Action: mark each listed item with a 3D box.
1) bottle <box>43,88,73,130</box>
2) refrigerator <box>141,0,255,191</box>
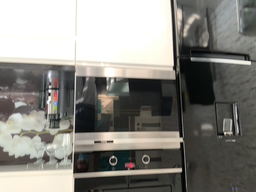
[{"bbox_3d":[-0.530,0.110,1.630,0.190,0.300,0.200,2,169,-14],"label":"bottle"},{"bbox_3d":[0.540,-0.030,1.660,0.630,1.870,0.730,2,169,-14],"label":"refrigerator"}]
